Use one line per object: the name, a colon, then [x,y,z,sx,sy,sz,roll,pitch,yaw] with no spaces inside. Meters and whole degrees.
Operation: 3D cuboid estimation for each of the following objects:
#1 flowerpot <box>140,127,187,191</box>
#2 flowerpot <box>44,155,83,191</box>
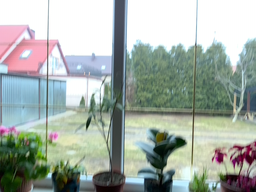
flowerpot: [0.190,0.410,1.230,0.220,0.420,0.230,2,2,0]
flowerpot: [-0.370,0.510,1.240,0.160,0.270,0.200,2,2,3]
